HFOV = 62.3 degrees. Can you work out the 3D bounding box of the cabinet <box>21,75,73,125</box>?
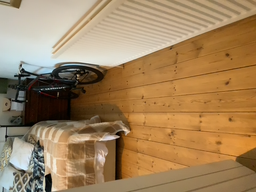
[{"bbox_3d":[-1.530,0.110,4.010,0.600,0.780,0.840,-7,81,56],"label":"cabinet"}]
